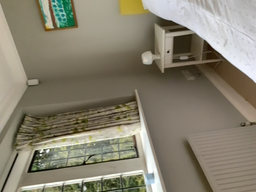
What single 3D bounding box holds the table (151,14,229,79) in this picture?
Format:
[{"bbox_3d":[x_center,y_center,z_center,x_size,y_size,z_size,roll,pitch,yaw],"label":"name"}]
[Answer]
[{"bbox_3d":[0.660,-0.580,2.450,0.490,0.690,0.530,-103,6,-58],"label":"table"}]
